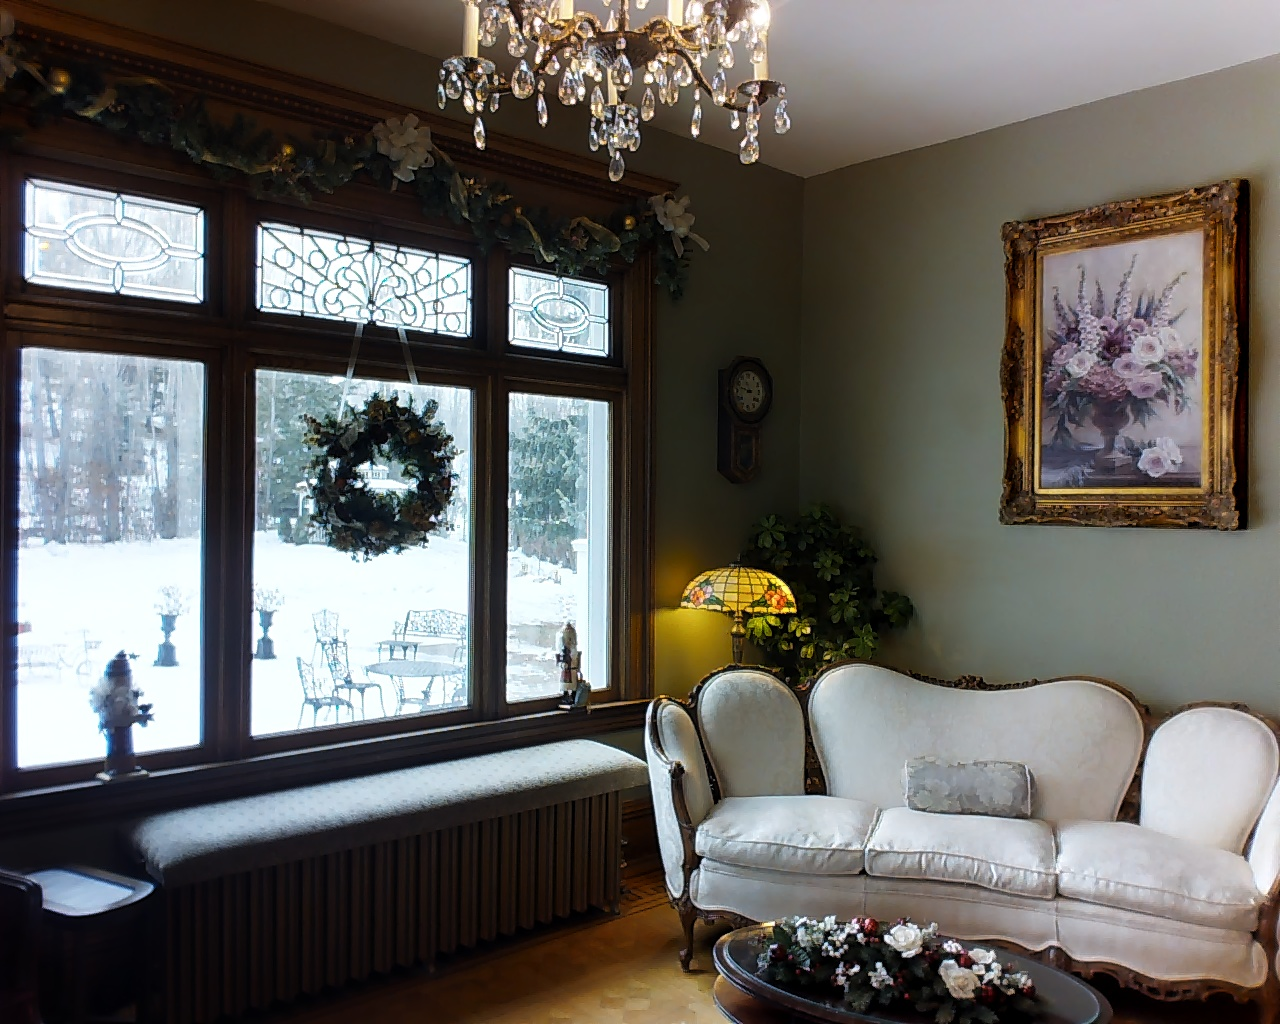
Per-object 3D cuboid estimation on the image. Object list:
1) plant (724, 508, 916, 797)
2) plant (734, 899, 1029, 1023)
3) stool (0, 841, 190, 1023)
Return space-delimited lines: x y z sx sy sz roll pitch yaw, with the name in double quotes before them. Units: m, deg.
"plant" 0.780 0.560 4.710 0.480 1.150 0.660 0 0 -42
"plant" 0.560 1.050 2.500 0.640 0.140 0.240 1 0 19
"stool" -1.529 1.210 2.790 0.620 0.510 0.380 1 0 32
